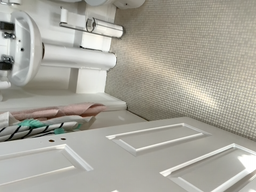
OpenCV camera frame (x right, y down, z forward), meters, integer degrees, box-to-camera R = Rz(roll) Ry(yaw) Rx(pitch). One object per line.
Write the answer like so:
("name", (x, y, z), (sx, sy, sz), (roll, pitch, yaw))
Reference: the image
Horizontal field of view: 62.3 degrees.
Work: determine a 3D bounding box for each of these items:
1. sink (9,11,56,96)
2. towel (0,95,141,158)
("sink", (-0.760, -0.330, 1.650), (0.390, 0.190, 0.580), (22, 107, 45))
("towel", (-0.600, 0.120, 0.940), (0.420, 1.430, 0.130), (19, 105, 46))
